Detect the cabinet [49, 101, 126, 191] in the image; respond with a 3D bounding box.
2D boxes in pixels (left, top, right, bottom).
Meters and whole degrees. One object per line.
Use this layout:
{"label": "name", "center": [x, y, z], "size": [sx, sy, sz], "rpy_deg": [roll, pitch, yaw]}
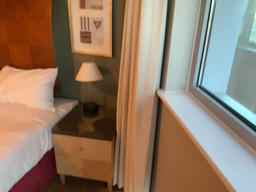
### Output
{"label": "cabinet", "center": [-0.340, 0.470, 2.050], "size": [0.520, 0.600, 0.590], "rpy_deg": [6, 23, 7]}
